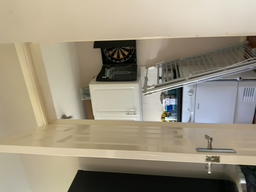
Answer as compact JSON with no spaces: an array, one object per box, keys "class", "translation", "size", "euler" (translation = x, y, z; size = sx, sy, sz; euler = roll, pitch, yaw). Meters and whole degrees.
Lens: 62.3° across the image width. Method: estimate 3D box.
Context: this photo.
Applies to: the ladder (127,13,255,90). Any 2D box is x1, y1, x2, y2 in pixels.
[{"class":"ladder","translation":[0.740,-0.480,2.400],"size":[0.190,1.490,0.830],"euler":[-115,25,-87]}]
